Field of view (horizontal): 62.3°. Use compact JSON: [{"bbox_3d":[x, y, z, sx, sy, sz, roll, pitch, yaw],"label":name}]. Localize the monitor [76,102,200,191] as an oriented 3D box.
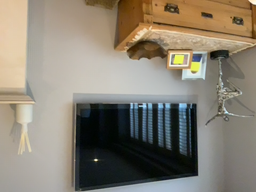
[{"bbox_3d":[0.140,0.390,1.800,1.140,0.680,0.040,1,177,-22],"label":"monitor"}]
